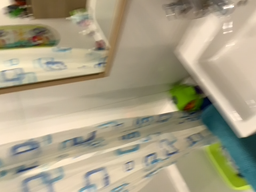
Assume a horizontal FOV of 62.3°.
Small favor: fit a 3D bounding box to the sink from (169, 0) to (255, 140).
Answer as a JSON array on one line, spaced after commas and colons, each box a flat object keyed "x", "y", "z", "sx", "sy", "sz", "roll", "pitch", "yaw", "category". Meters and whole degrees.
[{"x": 0.420, "y": -0.220, "z": 0.630, "sx": 0.460, "sy": 0.140, "sz": 0.610, "roll": 62, "pitch": 149, "yaw": 26, "category": "sink"}]
